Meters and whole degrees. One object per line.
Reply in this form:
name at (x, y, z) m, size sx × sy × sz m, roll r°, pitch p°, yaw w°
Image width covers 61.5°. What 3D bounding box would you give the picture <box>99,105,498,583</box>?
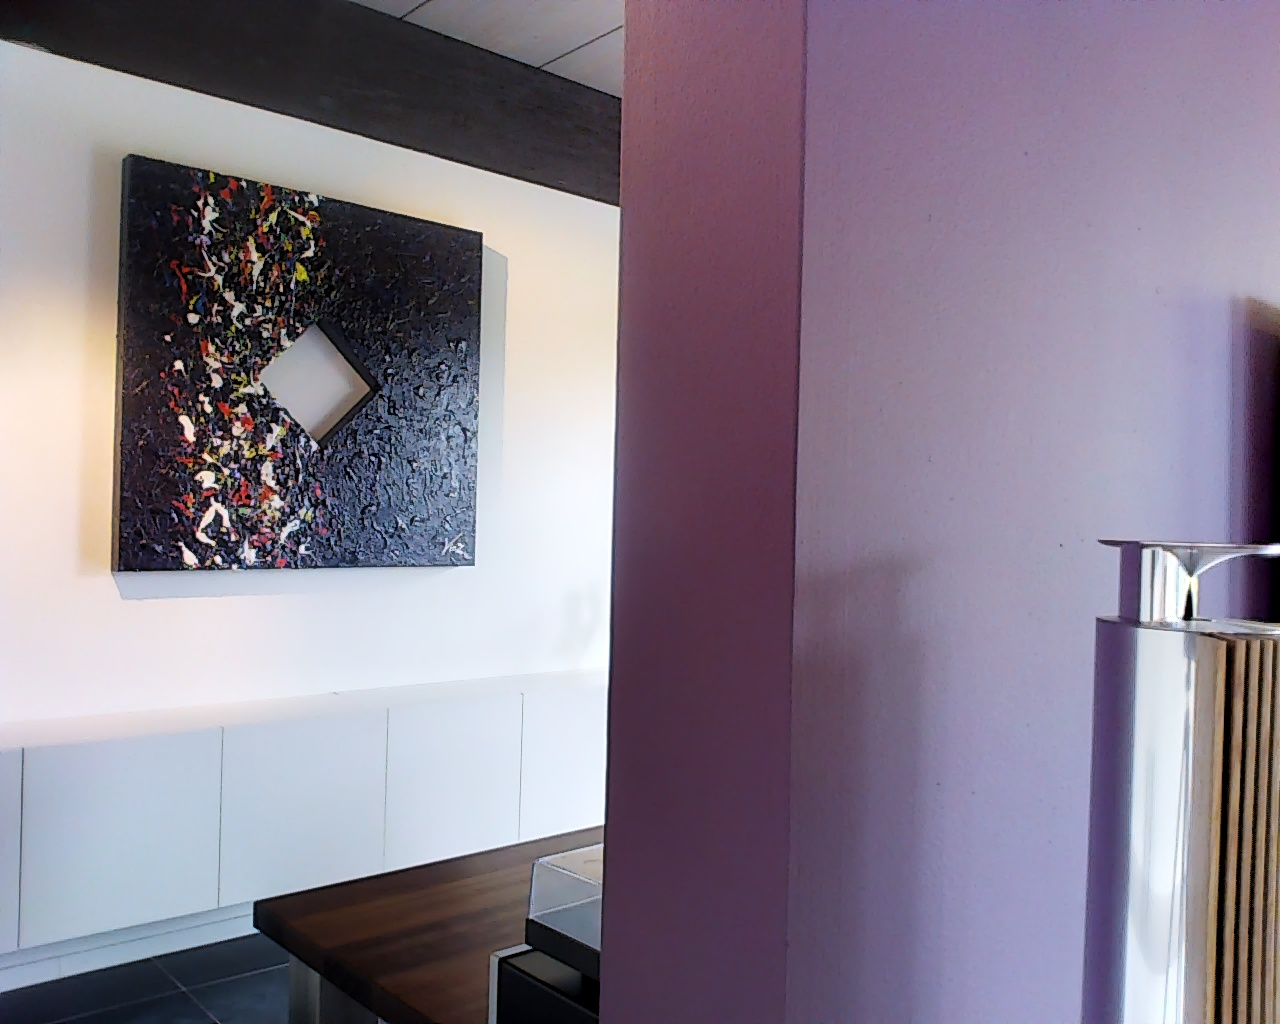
picture at (-1.040, -0.460, 3.510) m, size 1.270 × 1.360 × 0.090 m, roll 2°, pitch -1°, yaw -41°
